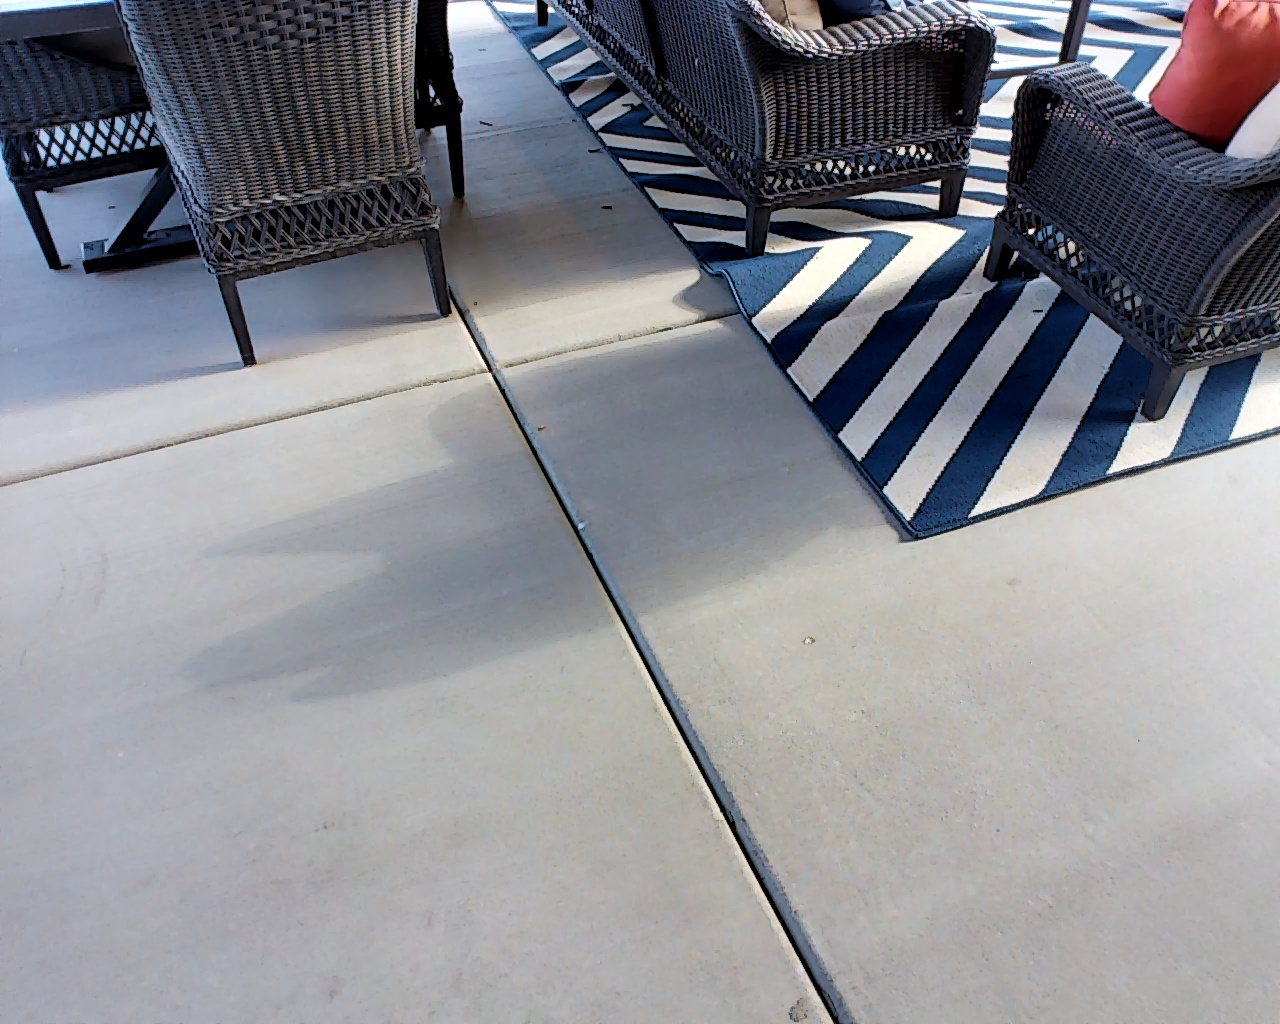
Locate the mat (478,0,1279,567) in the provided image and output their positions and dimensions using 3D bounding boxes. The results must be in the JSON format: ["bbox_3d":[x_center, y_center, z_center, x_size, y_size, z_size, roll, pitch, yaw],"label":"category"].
[{"bbox_3d":[1.180,-1.210,3.390,2.630,0.080,3.020,-15,45,-17],"label":"mat"}]
